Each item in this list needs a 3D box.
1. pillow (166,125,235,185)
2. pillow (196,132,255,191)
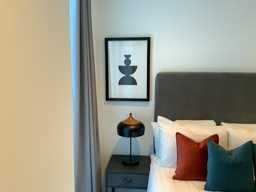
[{"bbox_3d":[0.600,0.490,1.800,0.440,0.340,0.160,19,5,1],"label":"pillow"},{"bbox_3d":[0.770,0.520,1.630,0.320,0.370,0.120,25,4,2],"label":"pillow"}]
